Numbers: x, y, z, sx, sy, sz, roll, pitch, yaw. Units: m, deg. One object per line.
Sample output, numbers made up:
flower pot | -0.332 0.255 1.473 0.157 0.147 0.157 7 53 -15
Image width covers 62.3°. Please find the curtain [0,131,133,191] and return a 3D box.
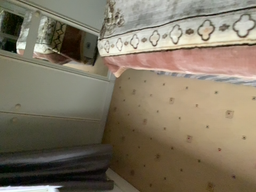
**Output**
curtain | -0.880 0.460 1.530 0.410 2.020 0.280 19 96 50
